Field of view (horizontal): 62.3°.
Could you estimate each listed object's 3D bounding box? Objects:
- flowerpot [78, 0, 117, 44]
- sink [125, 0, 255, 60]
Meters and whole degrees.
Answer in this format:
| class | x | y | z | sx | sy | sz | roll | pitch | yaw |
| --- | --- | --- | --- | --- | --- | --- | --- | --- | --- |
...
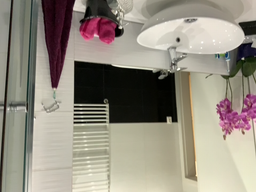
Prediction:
| class | x | y | z | sx | sy | sz | roll | pitch | yaw |
| --- | --- | --- | --- | --- | --- | --- | --- | --- | --- |
| flowerpot | -0.150 | -0.370 | 1.020 | 0.160 | 0.180 | 0.140 | 2 | 171 | -19 |
| sink | 0.350 | -0.350 | 1.110 | 0.640 | 0.150 | 0.370 | 3 | 171 | -23 |
